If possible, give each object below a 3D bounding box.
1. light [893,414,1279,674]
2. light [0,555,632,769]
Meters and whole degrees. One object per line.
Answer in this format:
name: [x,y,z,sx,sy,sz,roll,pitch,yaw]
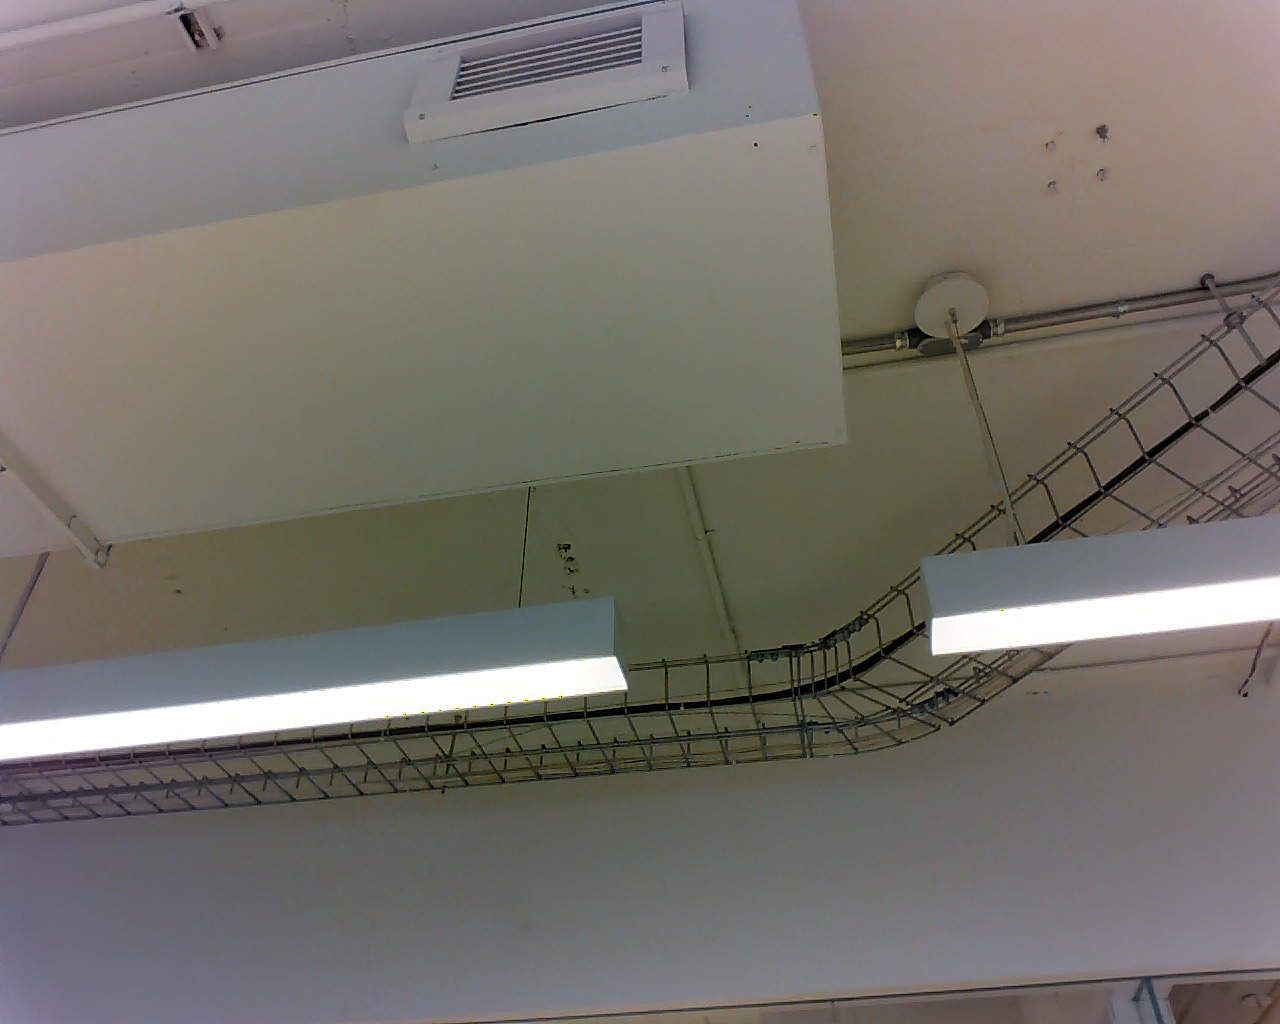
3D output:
light: [0.999,0.000,1.470,1.239,0.270,0.150,-8,-42,8]
light: [-0.620,0.250,1.670,1.209,0.160,0.150,-8,-42,8]
